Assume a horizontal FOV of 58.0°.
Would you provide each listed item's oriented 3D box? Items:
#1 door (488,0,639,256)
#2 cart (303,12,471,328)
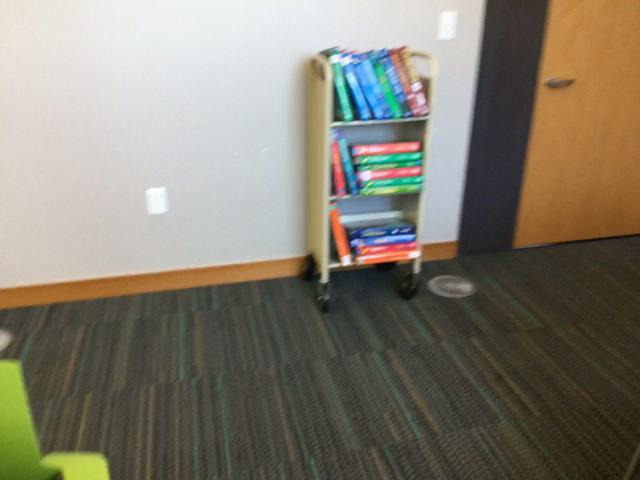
[{"bbox_3d":[1.420,-0.760,2.840,1.010,1.640,0.200,-5,22,-10],"label":"door"},{"bbox_3d":[0.240,-0.300,2.440,0.540,1.220,0.460,-4,22,-7],"label":"cart"}]
